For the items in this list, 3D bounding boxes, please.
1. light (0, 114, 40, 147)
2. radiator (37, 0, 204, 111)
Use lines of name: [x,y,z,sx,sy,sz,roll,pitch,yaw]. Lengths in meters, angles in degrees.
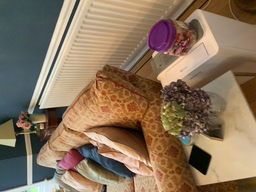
light: [-1.580,0.490,3.010,0.280,0.530,0.330,-40,61,50]
radiator: [-0.280,-0.300,2.100,1.970,0.840,0.100,-41,60,49]
